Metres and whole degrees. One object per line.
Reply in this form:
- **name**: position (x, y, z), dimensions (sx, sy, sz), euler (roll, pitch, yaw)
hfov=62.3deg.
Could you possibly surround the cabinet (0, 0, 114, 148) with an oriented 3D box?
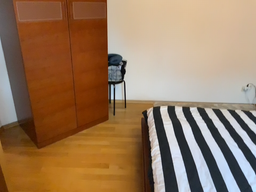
- **cabinet**: position (-0.740, -0.700, 2.240), dimensions (0.960, 2.200, 0.680), euler (-20, 33, -40)
